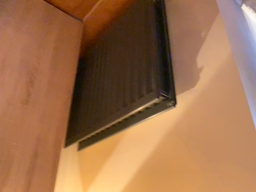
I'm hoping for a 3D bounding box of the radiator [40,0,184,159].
[{"bbox_3d":[-0.170,-0.130,1.260,0.220,0.790,0.930,22,143,-34],"label":"radiator"}]
